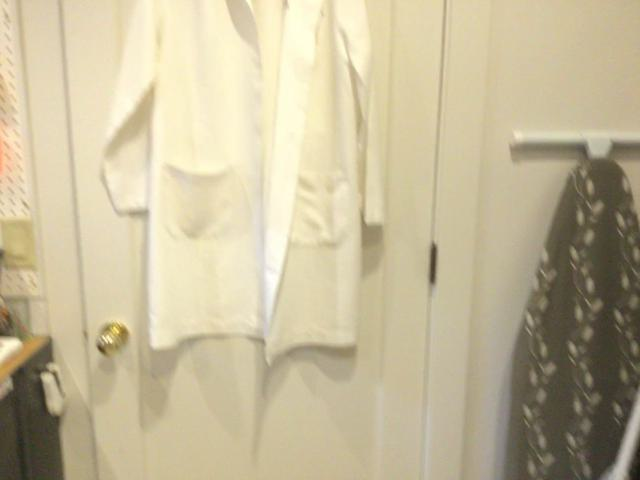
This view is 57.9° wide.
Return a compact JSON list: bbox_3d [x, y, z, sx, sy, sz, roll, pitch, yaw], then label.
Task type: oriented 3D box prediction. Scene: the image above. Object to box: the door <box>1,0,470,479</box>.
[{"bbox_3d":[-0.160,0.110,1.290,0.900,1.960,0.110,0,12,-3],"label":"door"}]
